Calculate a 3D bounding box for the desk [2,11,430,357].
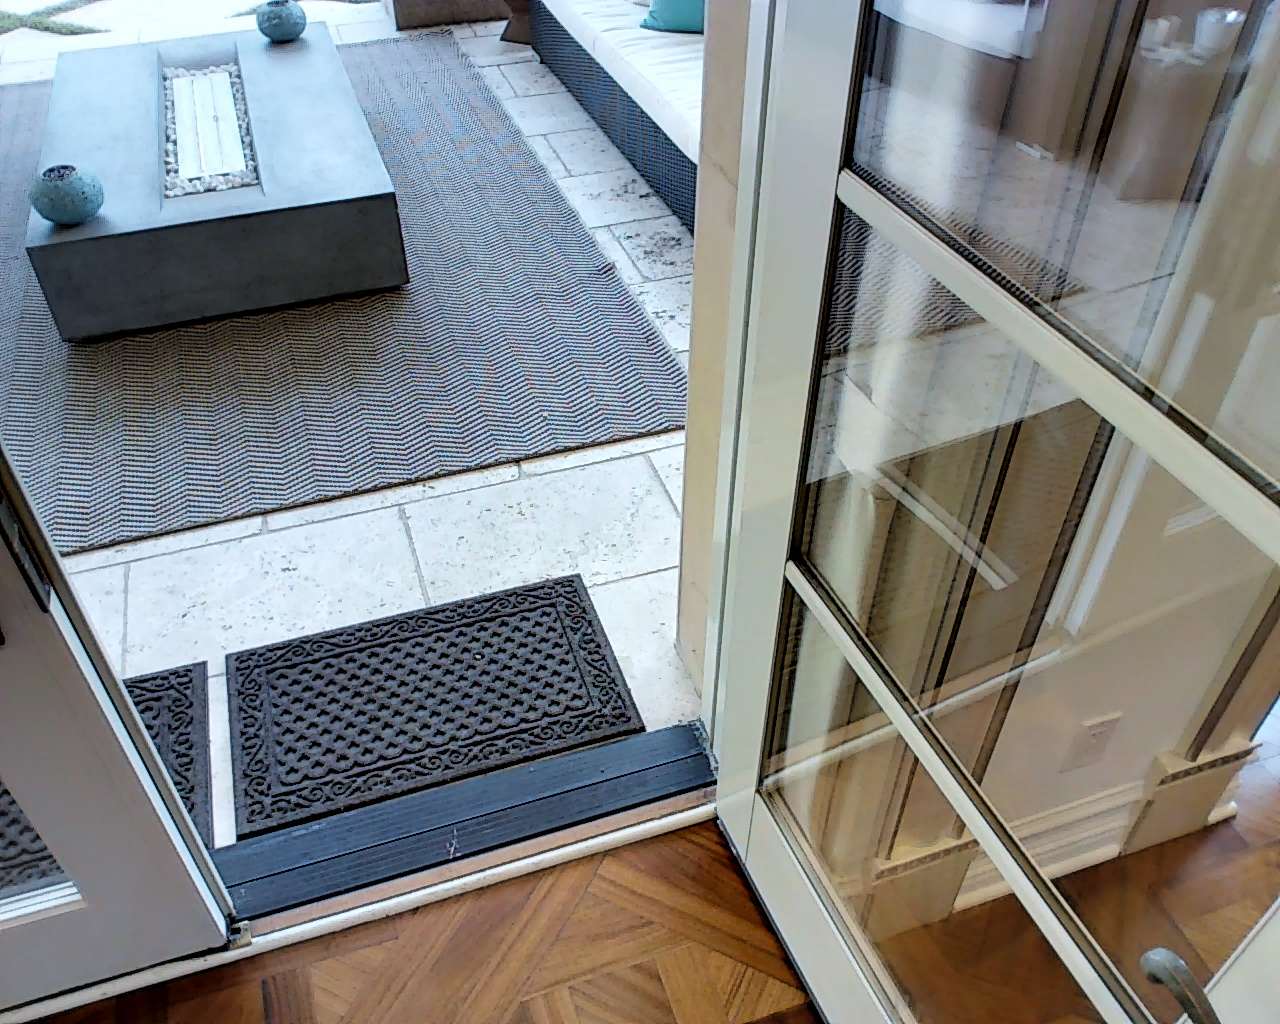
[{"bbox_3d":[-1.440,-1.230,3.720,1.100,0.370,1.670,-12,43,-13],"label":"desk"}]
